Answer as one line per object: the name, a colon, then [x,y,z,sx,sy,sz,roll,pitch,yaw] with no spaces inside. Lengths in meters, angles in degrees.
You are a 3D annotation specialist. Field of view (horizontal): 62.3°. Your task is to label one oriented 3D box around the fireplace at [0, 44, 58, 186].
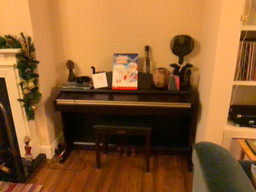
fireplace: [-1.590,0.140,2.160,1.380,1.240,0.650,2,21,6]
